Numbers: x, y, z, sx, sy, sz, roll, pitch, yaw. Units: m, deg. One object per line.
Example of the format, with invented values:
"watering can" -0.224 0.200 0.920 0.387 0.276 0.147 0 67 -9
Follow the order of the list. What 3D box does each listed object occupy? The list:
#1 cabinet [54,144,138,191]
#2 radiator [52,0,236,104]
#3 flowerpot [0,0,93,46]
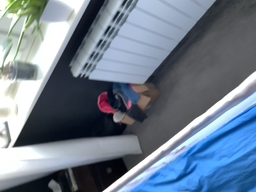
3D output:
"cabinet" -0.290 0.750 1.870 0.420 0.480 0.420 -48 57 33
"radiator" 0.100 -0.310 1.300 0.920 0.770 0.160 -49 56 31
"flowerpot" -0.350 -0.400 0.880 0.230 0.260 0.240 -50 56 31
